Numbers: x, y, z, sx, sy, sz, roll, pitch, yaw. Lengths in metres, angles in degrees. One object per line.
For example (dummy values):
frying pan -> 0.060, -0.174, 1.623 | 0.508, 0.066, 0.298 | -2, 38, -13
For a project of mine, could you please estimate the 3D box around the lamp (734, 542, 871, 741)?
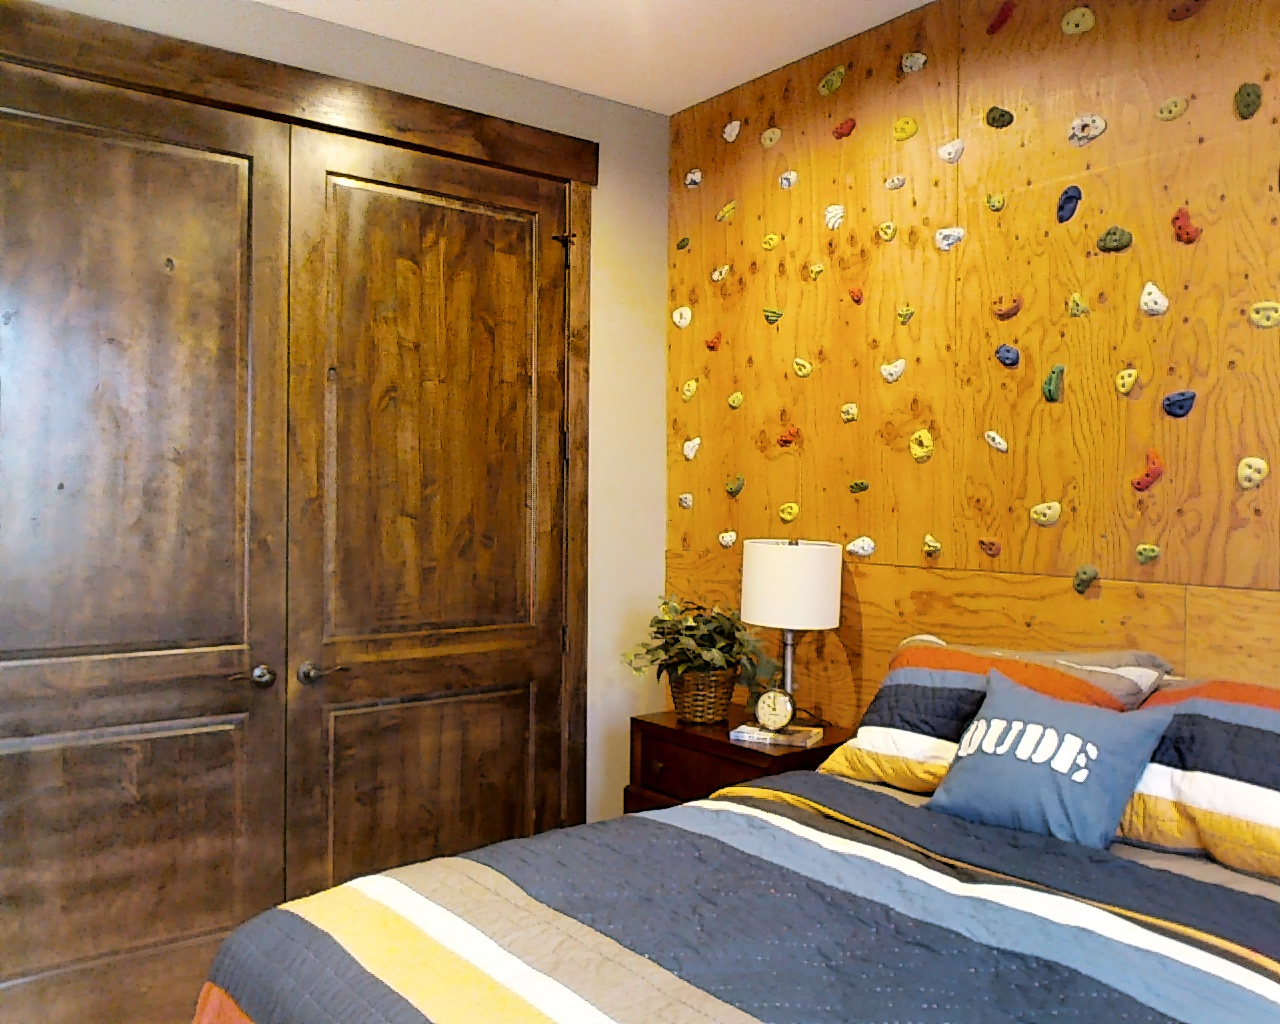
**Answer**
lamp -> 0.460, 0.350, 3.030 | 0.280, 0.520, 0.250 | 1, 0, -38

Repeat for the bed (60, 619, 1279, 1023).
bed -> 0.390, 0.840, 1.680 | 2.050, 1.110, 1.550 | 1, 0, -38
